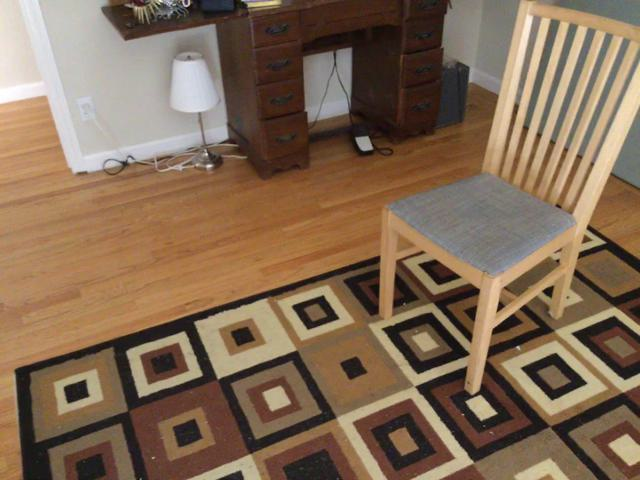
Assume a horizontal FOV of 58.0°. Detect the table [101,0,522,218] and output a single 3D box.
[{"bbox_3d":[0.030,-0.880,2.740,1.820,0.900,0.570,-19,38,-20],"label":"table"}]
